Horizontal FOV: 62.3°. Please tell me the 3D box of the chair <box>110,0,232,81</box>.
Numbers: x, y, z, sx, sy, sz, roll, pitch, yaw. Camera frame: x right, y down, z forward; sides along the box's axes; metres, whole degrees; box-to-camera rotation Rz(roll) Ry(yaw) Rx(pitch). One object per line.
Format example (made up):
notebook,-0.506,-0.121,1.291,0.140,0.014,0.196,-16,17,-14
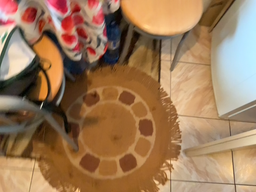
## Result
chair,0.140,-0.460,1.010,0.380,0.790,0.460,6,71,-4
